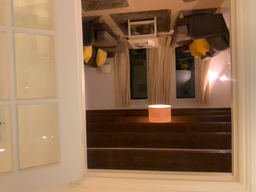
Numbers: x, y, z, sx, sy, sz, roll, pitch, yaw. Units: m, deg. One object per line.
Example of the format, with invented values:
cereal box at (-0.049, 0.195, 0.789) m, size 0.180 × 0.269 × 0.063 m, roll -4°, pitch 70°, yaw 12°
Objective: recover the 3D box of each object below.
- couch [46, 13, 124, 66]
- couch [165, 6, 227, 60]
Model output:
couch at (-0.920, -1.300, 5.400) m, size 1.260 × 0.810 × 2.180 m, roll -1°, pitch -177°, yaw 8°
couch at (1.460, -1.350, 4.910) m, size 1.100 × 0.810 × 1.510 m, roll -1°, pitch -177°, yaw 7°
